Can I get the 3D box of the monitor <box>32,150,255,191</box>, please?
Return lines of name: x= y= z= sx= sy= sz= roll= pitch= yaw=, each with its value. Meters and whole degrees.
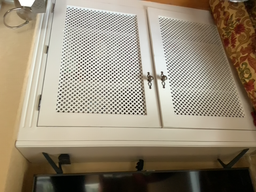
monitor: x=0.140 y=0.630 z=0.970 sx=1.130 sy=0.710 sz=0.070 roll=1 pitch=153 yaw=-10
